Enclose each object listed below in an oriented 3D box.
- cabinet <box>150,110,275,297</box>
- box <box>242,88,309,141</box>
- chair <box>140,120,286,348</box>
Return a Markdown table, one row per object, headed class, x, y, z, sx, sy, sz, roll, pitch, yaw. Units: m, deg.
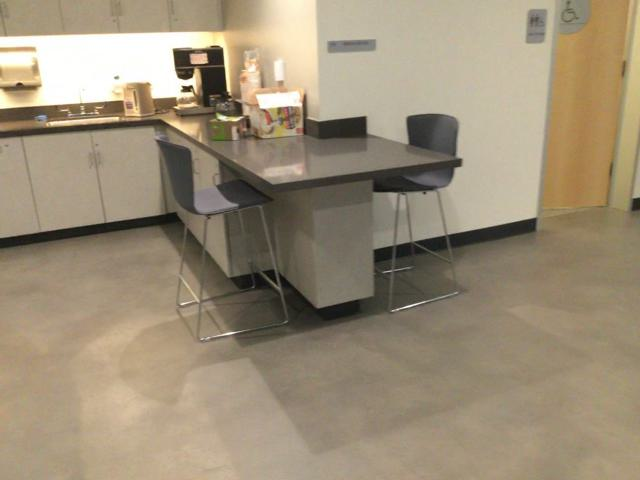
| class | x | y | z | sx | sy | sz | roll | pitch | yaw |
| --- | --- | --- | --- | --- | --- | --- | --- | --- | --- |
| cabinet | -0.740 | -0.330 | 3.720 | 0.290 | 0.840 | 1.540 | -10 | 21 | -26 |
| box | -0.250 | -0.710 | 3.250 | 0.290 | 0.250 | 0.260 | -10 | 21 | -26 |
| chair | -0.510 | -0.060 | 2.800 | 0.510 | 0.940 | 0.490 | -10 | 21 | -26 |
